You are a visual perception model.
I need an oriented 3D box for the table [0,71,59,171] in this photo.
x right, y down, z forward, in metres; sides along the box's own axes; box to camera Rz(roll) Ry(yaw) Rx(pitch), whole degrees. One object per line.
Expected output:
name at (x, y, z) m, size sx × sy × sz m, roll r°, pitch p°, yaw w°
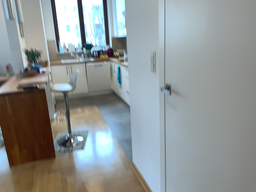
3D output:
table at (-1.370, 0.220, 3.090) m, size 0.560 × 0.920 × 1.430 m, roll -7°, pitch 17°, yaw -17°

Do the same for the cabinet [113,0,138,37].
cabinet at (-0.080, -2.100, 5.280) m, size 0.320 × 1.190 × 0.920 m, roll -7°, pitch 17°, yaw -17°
